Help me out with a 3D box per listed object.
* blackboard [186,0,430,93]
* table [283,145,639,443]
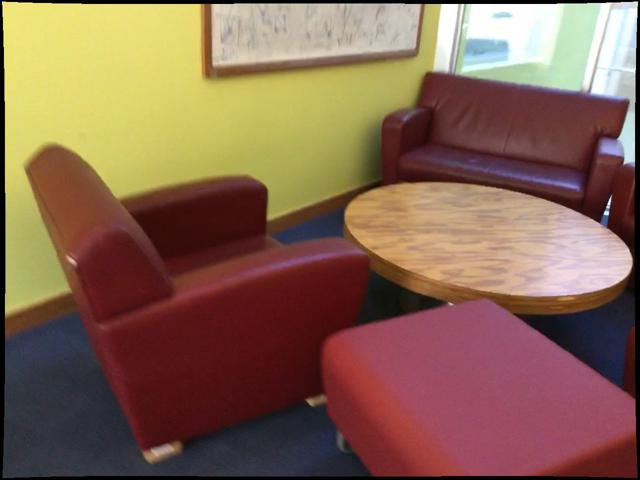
[{"bbox_3d":[0.080,-1.492,2.900,0.110,1.191,1.799,25,36,34],"label":"blackboard"},{"bbox_3d":[0.689,0.080,2.590,1.179,0.440,1.220,25,36,33],"label":"table"}]
